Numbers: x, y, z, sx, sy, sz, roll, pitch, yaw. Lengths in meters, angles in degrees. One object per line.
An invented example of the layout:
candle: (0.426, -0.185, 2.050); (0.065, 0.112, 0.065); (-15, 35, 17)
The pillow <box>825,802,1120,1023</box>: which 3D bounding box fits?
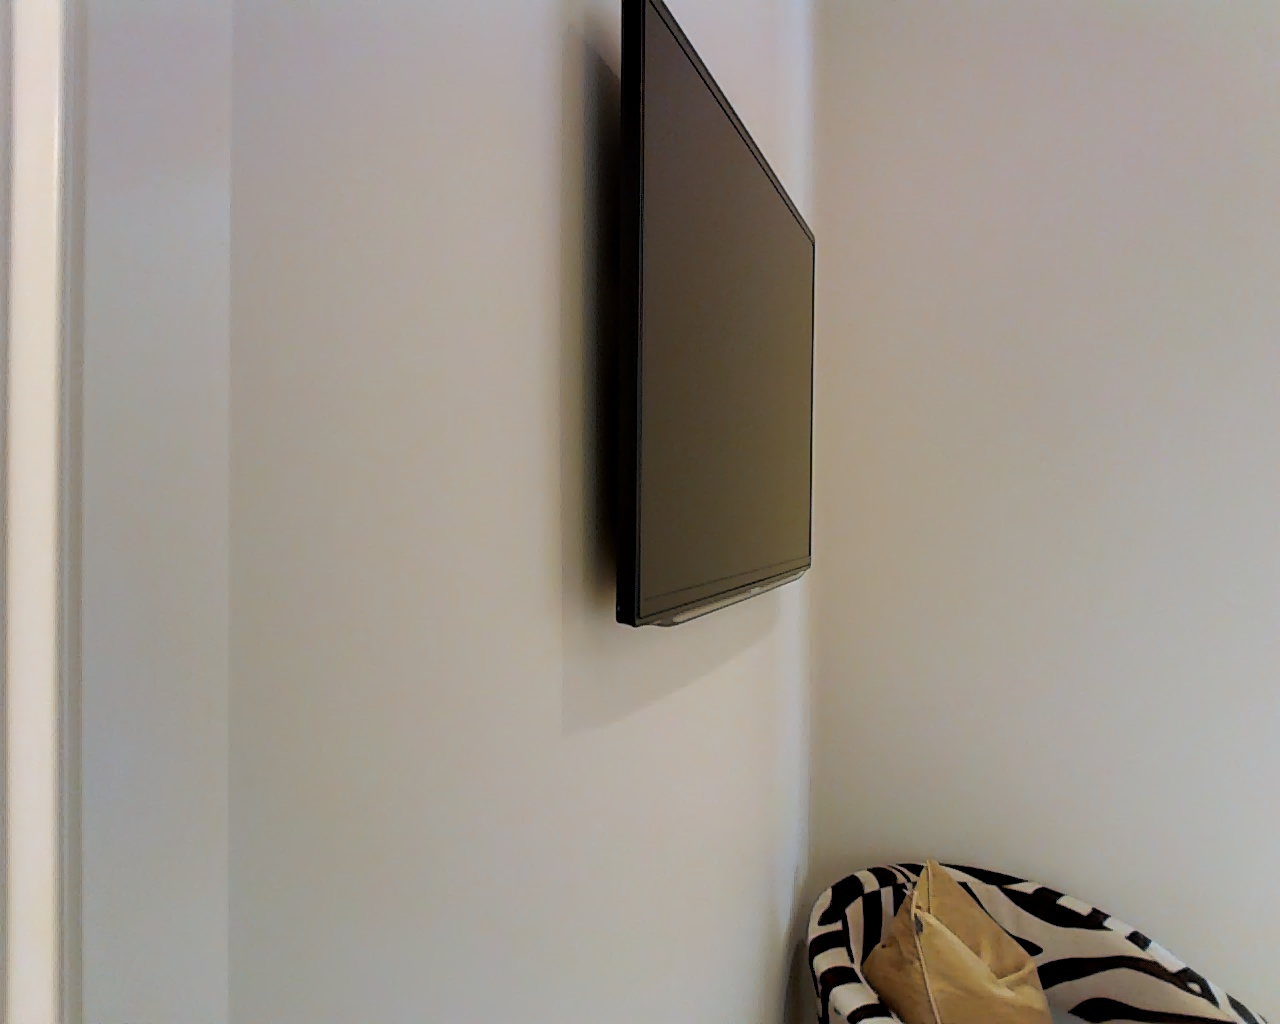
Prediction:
pillow: (0.580, 0.800, 1.790); (0.260, 0.450, 0.480); (-21, -7, 29)
